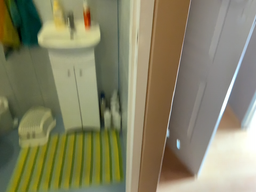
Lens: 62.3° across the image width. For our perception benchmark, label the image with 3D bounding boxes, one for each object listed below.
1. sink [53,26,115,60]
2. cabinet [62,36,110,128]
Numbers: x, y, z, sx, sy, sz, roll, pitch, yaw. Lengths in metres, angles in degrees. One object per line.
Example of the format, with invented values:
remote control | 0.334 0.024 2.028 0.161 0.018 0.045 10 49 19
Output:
sink | -0.310 -0.400 1.570 0.410 0.140 0.270 -2 37 -6
cabinet | -0.320 -0.100 1.790 0.310 0.720 0.290 -2 37 -6
